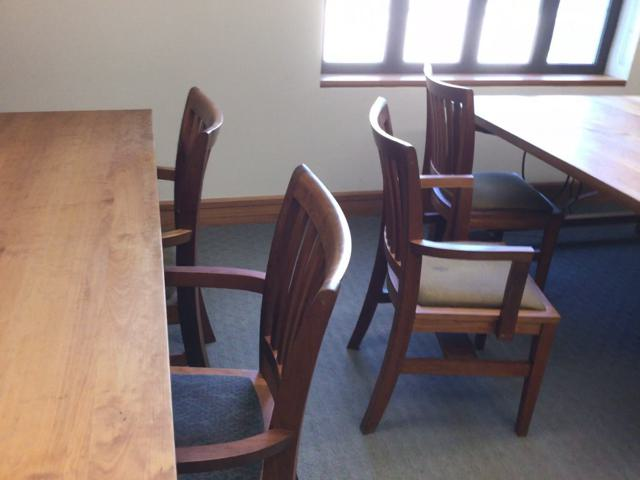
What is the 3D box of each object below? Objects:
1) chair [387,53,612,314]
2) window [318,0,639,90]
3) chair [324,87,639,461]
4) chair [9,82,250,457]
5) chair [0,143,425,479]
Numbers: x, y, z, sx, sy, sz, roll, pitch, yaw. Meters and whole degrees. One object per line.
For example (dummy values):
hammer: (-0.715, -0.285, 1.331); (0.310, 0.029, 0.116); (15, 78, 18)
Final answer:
chair: (0.680, -0.270, 2.440); (0.540, 0.900, 0.620); (-6, 27, -14)
window: (0.920, -1.460, 2.860); (1.820, 1.290, 0.300); (-6, 27, -14)
chair: (0.390, 0.060, 1.790); (0.620, 0.910, 0.650); (-4, 27, -11)
chair: (-0.510, 0.050, 1.740); (0.480, 0.900, 0.610); (-6, 27, -14)
chair: (-0.290, 0.370, 1.150); (0.650, 0.900, 0.750); (-6, 27, -14)
